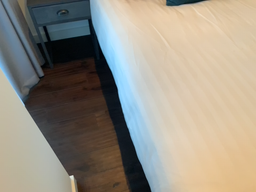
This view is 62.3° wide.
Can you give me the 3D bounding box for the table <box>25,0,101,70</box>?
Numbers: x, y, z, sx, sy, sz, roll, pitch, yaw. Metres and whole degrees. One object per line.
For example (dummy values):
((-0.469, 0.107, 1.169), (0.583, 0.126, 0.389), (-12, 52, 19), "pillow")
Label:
((-0.540, -0.640, 1.850), (0.460, 0.620, 0.440), (-13, 53, -10), "table")
